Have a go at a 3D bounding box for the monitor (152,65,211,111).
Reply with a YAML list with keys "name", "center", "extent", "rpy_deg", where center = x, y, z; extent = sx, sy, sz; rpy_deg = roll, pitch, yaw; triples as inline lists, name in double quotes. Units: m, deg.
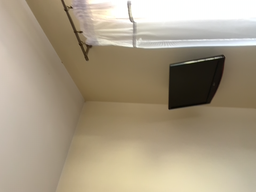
- name: "monitor"
  center: [0.420, -0.020, 1.590]
  extent: [0.700, 0.350, 0.040]
  rpy_deg: [53, 40, -61]
